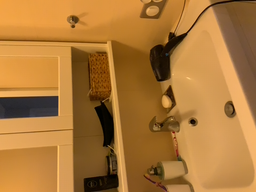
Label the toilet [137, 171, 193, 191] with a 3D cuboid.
[{"bbox_3d":[0.150,0.400,0.830,0.090,0.190,0.170,113,152,-58],"label":"toilet"}]
